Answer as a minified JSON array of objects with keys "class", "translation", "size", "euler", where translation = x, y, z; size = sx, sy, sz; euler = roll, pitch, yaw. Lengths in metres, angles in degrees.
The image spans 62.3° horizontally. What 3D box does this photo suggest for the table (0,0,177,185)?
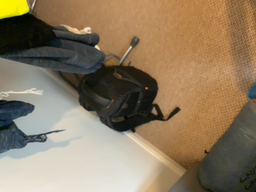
[{"class":"table","translation":[-0.650,-0.350,1.150],"size":[1.520,0.940,0.490],"euler":[32,108,26]}]
